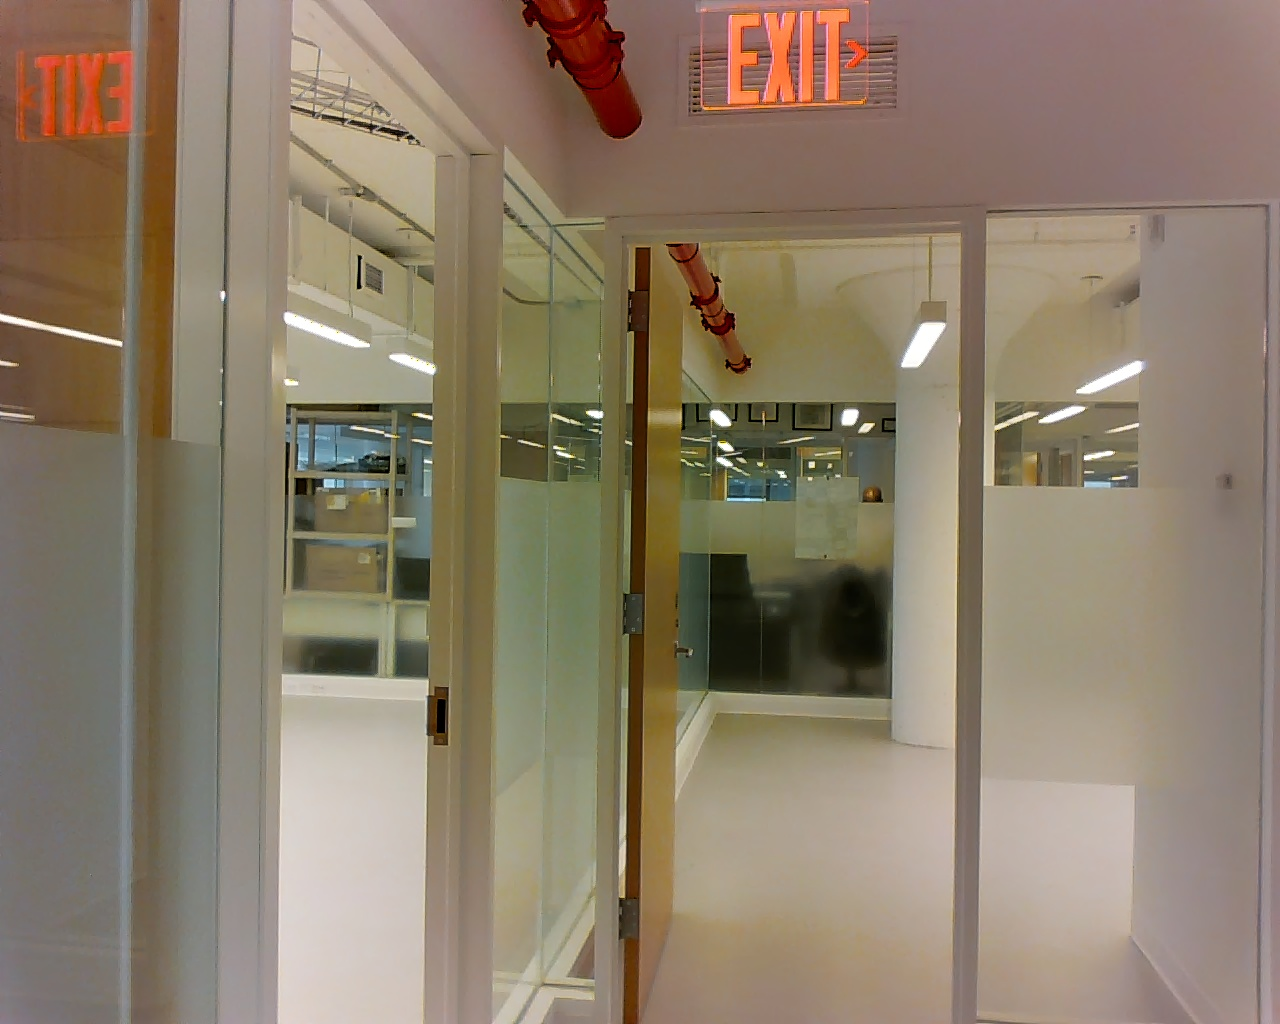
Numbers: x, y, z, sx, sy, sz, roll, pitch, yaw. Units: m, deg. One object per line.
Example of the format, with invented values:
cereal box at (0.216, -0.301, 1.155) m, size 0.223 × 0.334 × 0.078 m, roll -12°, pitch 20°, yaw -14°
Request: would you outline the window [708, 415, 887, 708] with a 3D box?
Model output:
window at (1.120, 0.340, 7.680) m, size 1.220 × 2.050 × 0.140 m, roll 1°, pitch 0°, yaw 9°
